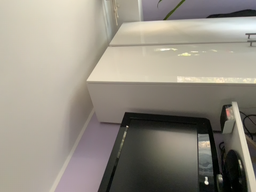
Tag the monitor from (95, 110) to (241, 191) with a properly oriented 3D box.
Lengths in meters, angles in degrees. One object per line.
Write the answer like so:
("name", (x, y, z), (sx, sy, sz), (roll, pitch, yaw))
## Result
("monitor", (0.190, 0.380, 1.030), (0.830, 0.630, 0.040), (-69, -23, -49))
